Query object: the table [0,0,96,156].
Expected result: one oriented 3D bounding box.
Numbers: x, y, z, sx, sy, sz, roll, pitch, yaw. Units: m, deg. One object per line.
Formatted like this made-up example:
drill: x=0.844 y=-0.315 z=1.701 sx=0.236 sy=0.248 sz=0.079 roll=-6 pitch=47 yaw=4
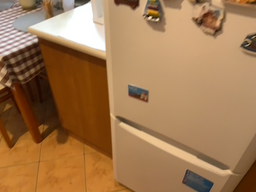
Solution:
table: x=-0.870 y=-0.240 z=1.620 sx=1.000 sy=0.780 sz=0.650 roll=24 pitch=45 yaw=24
